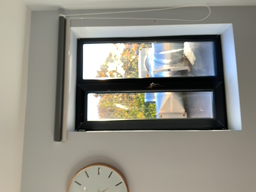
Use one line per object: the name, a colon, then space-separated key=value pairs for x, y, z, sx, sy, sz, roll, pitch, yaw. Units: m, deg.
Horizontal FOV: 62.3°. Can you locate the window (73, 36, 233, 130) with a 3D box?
window: x=0.210 y=-0.120 z=1.930 sx=0.130 sy=1.370 sz=0.840 roll=85 pitch=-175 yaw=-83
